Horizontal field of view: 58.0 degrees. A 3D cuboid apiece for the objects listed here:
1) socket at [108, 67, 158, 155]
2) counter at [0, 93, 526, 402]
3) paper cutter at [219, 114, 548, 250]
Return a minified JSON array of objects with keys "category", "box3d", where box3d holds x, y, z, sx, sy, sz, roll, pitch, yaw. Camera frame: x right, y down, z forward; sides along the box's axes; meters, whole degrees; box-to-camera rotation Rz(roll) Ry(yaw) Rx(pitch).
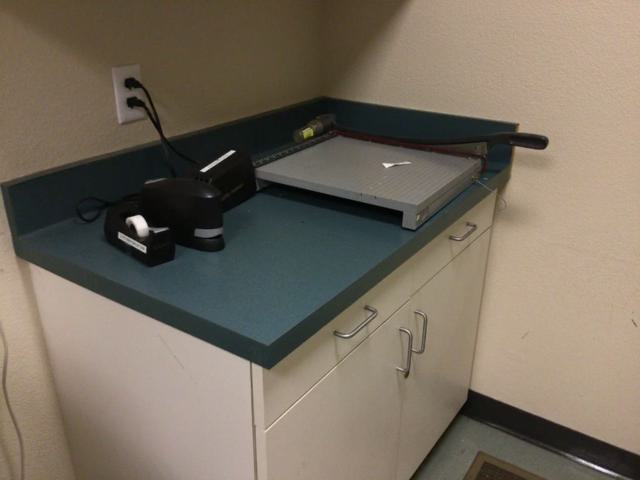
[{"category":"socket","box3d":[-0.390,-0.270,1.210,0.030,0.170,0.070,13,27,33]},{"category":"counter","box3d":[-0.030,-0.120,1.270,0.620,0.230,1.020,13,27,33]},{"category":"paper cutter","box3d":[0.150,-0.170,1.320,0.580,0.120,0.470,13,27,33]}]
